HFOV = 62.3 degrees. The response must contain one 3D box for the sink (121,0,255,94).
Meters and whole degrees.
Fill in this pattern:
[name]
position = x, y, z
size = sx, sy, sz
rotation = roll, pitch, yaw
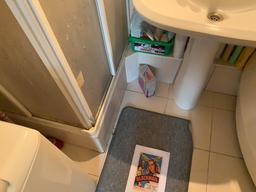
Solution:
[sink]
position = 0.350, -0.320, 0.800
size = 0.630, 0.280, 0.490
rotation = 11, 61, 9
